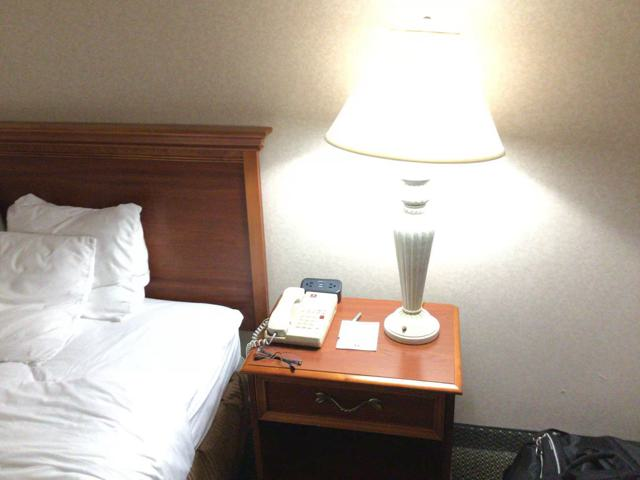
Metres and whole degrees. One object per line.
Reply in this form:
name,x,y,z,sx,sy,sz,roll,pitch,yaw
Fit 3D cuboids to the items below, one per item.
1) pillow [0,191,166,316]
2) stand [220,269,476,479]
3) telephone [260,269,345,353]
pillow,-0.800,0.040,1.830,0.510,0.340,0.170,3,38,11
stand,0.110,0.500,1.700,0.610,0.660,0.480,2,21,11
telephone,-0.040,0.190,1.640,0.170,0.090,0.320,2,21,11
